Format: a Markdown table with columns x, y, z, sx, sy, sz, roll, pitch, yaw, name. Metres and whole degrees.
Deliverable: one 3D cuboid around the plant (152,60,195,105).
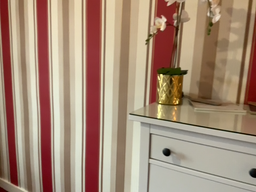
| x | y | z | sx | sy | sz | roll | pitch | yaw | name |
| --- | --- | --- | --- | --- | --- | --- | --- | --- | --- |
| 0.240 | -0.080 | 1.100 | 0.150 | 0.200 | 0.200 | 8 | 12 | 28 | plant |
